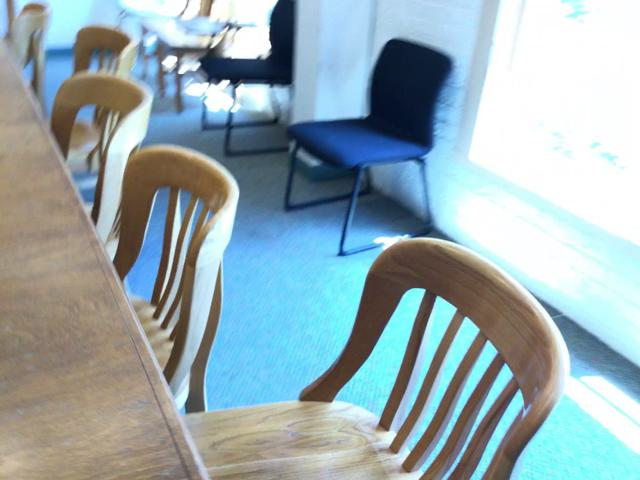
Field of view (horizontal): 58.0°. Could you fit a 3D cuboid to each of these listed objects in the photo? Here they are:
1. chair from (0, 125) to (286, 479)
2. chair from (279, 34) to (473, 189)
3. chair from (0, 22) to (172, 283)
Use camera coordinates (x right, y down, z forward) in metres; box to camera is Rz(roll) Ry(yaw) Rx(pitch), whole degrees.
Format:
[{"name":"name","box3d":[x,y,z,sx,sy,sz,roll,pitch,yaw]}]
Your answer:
[{"name":"chair","box3d":[-0.430,0.230,1.340,0.490,0.800,0.550,-11,34,-25]},{"name":"chair","box3d":[0.210,-0.580,2.480,0.600,0.470,0.510,-11,34,-25]},{"name":"chair","box3d":[-1.010,-0.380,2.290,0.650,0.810,0.570,-11,34,-25]}]
